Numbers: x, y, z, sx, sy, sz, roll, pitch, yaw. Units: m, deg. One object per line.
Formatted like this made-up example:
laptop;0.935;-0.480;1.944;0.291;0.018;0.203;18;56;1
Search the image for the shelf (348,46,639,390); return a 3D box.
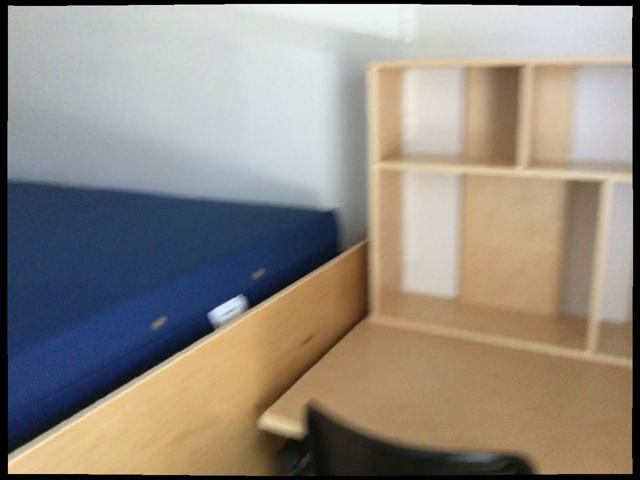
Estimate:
shelf;0.729;-0.080;1.520;1.268;0.801;0.360;8;18;26
